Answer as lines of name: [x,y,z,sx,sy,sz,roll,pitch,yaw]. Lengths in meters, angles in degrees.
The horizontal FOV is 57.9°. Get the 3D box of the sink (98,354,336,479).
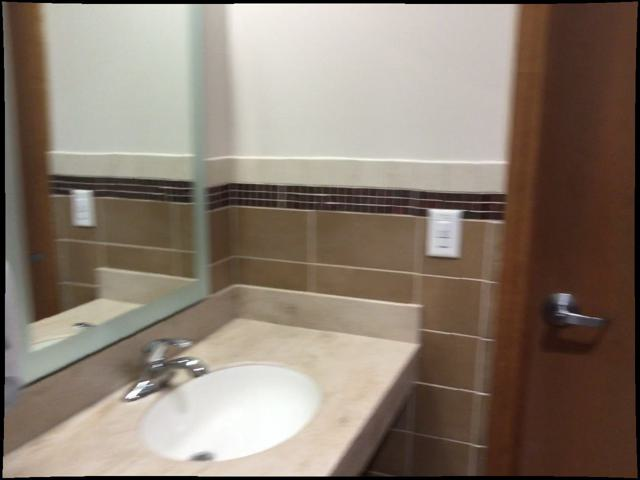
sink: [-0.190,0.430,1.240,0.310,0.180,0.430,4,13,23]
